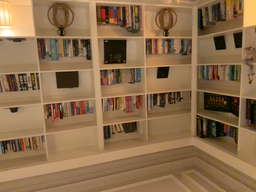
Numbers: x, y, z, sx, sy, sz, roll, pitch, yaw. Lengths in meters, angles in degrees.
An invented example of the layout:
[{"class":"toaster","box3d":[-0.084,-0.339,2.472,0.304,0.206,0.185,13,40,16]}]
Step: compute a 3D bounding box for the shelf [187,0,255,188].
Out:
[{"class":"shelf","box3d":[1.280,-0.100,2.460,0.280,2.000,1.530,-5,-170,-20]}]
